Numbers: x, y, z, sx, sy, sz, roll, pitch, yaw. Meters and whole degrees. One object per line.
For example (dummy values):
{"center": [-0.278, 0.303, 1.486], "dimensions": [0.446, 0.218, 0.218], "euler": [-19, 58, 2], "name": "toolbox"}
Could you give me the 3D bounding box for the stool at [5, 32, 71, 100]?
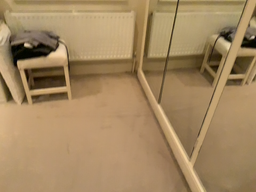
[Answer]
{"center": [-0.800, -0.290, 2.010], "dimensions": [0.460, 0.500, 0.380], "euler": [-4, 37, -11], "name": "stool"}
